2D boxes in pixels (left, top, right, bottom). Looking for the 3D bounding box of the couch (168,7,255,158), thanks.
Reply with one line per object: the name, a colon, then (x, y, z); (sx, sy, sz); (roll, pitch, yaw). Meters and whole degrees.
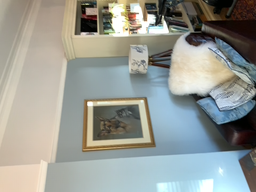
couch: (1.020, -0.220, 2.140); (1.080, 0.830, 1.130); (-103, 12, -59)
